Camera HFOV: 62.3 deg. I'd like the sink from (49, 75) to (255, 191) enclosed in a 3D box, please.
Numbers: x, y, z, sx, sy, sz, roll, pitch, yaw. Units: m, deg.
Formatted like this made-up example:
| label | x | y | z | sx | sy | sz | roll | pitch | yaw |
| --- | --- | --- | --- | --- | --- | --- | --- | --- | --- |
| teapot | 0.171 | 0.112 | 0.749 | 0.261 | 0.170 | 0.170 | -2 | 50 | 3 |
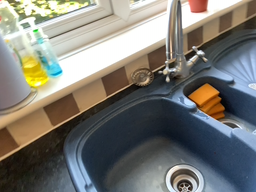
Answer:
| label | x | y | z | sx | sy | sz | roll | pitch | yaw |
| --- | --- | --- | --- | --- | --- | --- | --- | --- | --- |
| sink | 0.100 | 0.220 | 0.580 | 0.400 | 0.250 | 0.500 | -30 | 40 | -22 |
